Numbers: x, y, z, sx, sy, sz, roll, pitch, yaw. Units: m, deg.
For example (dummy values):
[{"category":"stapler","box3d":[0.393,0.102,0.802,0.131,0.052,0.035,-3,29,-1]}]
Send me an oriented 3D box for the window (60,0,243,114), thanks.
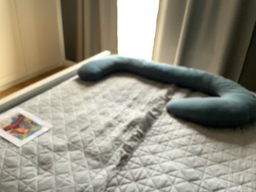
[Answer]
[{"category":"window","box3d":[0.080,-1.310,2.490,2.370,2.690,0.100,19,33,23]}]
